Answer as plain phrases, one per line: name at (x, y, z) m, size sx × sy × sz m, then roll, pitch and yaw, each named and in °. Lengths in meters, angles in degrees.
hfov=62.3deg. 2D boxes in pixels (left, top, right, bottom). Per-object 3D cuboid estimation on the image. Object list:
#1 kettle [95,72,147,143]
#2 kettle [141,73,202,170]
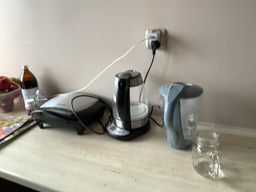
kettle at (-0.020, 0.040, 0.900) m, size 0.160 × 0.250 × 0.140 m, roll 6°, pitch 23°, yaw 22°
kettle at (0.170, 0.070, 0.780) m, size 0.160 × 0.240 × 0.270 m, roll 5°, pitch 23°, yaw 21°
